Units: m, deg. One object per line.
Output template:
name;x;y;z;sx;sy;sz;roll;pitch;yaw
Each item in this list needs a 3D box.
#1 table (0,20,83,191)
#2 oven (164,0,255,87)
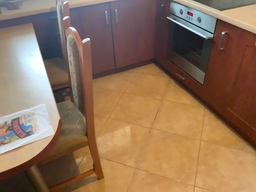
table;-0.780;0.150;1.400;0.630;0.760;1.440;-16;40;-17
oven;0.780;-0.580;1.990;0.590;0.640;0.610;-17;40;-17
